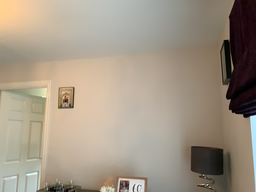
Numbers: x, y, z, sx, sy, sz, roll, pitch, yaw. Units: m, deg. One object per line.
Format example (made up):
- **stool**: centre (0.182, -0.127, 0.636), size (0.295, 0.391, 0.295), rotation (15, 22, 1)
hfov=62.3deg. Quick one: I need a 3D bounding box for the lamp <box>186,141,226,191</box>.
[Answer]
- **lamp**: centre (0.660, 0.650, 1.820), size (0.280, 0.490, 0.340), rotation (-2, -10, 18)
